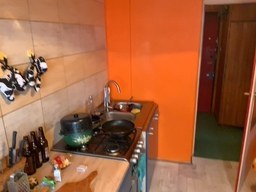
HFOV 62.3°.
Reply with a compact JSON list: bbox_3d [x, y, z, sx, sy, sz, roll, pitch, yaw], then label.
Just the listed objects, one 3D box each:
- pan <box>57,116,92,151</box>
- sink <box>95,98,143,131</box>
[{"bbox_3d":[-0.400,0.280,1.610,0.190,0.190,0.180,2,16,10],"label":"pan"},{"bbox_3d":[-0.090,0.210,2.590,0.450,0.210,0.490,3,17,14],"label":"sink"}]
